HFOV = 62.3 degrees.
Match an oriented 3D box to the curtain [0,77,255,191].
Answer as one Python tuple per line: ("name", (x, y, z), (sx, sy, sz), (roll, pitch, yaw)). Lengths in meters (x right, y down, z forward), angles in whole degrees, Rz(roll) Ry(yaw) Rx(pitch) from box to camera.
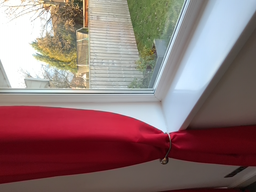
("curtain", (0.270, 0.220, 0.920), (0.630, 2.190, 0.230), (104, 161, -51))
